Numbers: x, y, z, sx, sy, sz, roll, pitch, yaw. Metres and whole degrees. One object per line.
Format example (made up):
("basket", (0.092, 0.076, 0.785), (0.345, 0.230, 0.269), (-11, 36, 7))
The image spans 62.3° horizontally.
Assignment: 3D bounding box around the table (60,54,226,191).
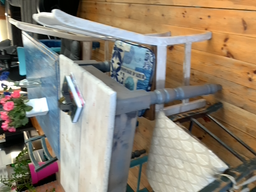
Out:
("table", (0.040, 0.240, 1.370), (0.580, 0.750, 0.890), (32, 124, 49))
